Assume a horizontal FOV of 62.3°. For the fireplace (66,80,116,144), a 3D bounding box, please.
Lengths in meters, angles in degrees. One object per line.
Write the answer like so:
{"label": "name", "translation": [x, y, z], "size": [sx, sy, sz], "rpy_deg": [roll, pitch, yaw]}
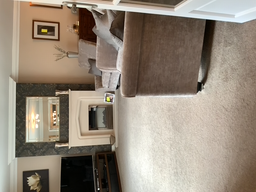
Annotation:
{"label": "fireplace", "translation": [-0.910, 0.360, 5.120], "size": [0.690, 1.100, 1.410], "rpy_deg": [167, 102, -74]}
